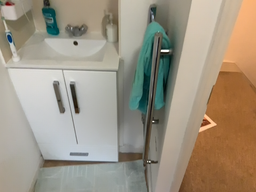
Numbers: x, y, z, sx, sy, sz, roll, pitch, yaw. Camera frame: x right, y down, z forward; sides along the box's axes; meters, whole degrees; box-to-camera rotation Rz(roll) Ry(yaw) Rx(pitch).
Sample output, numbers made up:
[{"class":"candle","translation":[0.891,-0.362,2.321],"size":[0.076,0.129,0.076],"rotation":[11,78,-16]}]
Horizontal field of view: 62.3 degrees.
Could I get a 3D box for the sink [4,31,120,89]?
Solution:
[{"class":"sink","translation":[-0.360,-0.250,1.350],"size":[0.600,0.130,0.460],"rotation":[3,39,-1]}]
